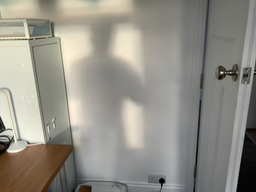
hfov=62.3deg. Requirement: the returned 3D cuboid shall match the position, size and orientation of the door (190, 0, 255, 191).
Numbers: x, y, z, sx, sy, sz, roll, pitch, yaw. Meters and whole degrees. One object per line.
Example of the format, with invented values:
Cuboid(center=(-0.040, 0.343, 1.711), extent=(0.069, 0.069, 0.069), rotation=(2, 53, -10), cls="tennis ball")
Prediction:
Cuboid(center=(0.480, 0.030, 1.190), extent=(0.040, 1.970, 0.860), rotation=(1, 18, 9), cls="door")
